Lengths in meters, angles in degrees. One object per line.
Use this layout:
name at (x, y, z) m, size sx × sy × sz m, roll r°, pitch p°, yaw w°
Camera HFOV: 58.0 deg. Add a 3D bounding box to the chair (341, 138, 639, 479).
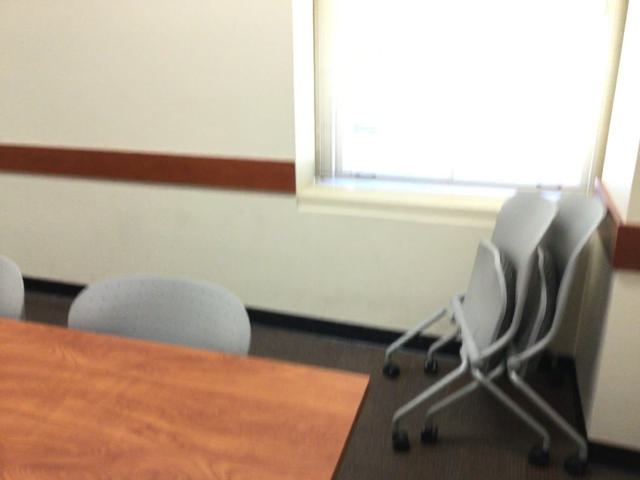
chair at (0.550, 0.190, 2.060) m, size 0.780 × 0.940 × 0.650 m, roll 7°, pitch 21°, yaw 16°
